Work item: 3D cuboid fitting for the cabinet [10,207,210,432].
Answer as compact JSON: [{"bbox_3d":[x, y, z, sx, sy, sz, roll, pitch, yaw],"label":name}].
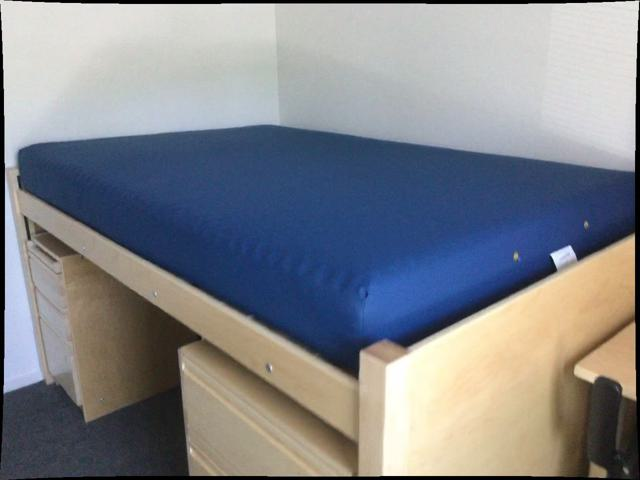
[{"bbox_3d":[-0.928,0.311,2.610,0.610,0.731,0.510,-18,24,-39],"label":"cabinet"}]
